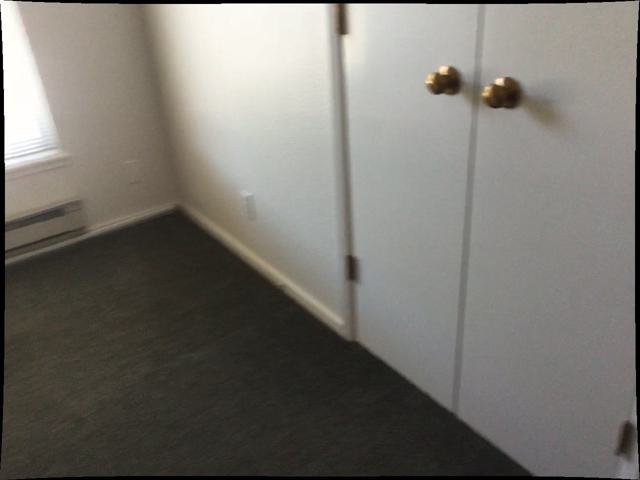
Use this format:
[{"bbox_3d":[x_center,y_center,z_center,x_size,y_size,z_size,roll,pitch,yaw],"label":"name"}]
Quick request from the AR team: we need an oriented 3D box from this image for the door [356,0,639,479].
[{"bbox_3d":[0.409,0.020,1.350,0.070,1.211,0.850,-24,36,-32],"label":"door"}]

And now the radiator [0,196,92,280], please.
[{"bbox_3d":[-1.478,0.080,2.440,0.949,0.240,0.080,-24,36,-32],"label":"radiator"}]
